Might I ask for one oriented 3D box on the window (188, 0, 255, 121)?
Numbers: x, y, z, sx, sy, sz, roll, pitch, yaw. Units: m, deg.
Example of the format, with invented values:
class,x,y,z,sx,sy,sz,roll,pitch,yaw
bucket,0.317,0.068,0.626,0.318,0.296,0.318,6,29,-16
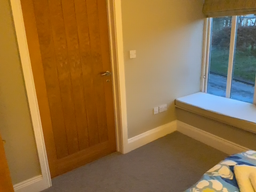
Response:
class,x,y,z,sx,sy,sz,roll,pitch,yaw
window,1.570,-0.530,2.290,0.130,1.720,2.090,-13,20,-32
